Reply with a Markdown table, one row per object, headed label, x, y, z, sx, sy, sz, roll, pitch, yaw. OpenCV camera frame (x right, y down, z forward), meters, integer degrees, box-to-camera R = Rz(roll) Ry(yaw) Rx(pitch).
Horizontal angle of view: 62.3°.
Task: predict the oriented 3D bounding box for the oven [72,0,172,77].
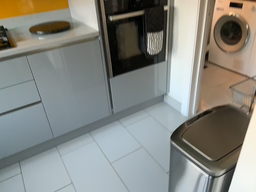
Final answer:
| label | x | y | z | sx | sy | sz | roll | pitch | yaw |
| --- | --- | --- | --- | --- | --- | --- | --- | --- | --- |
| oven | -0.060 | -0.590 | 1.930 | 0.630 | 0.480 | 0.630 | -21 | 36 | -24 |

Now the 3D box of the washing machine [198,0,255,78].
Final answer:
| label | x | y | z | sx | sy | sz | roll | pitch | yaw |
| --- | --- | --- | --- | --- | --- | --- | --- | --- | --- |
| washing machine | 1.490 | -0.870 | 2.760 | 0.720 | 0.900 | 0.720 | -20 | 35 | -22 |

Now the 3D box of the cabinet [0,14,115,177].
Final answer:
| label | x | y | z | sx | sy | sz | roll | pitch | yaw |
| --- | --- | --- | --- | --- | --- | --- | --- | --- | --- |
| cabinet | -1.200 | 0.100 | 1.540 | 2.070 | 0.910 | 0.640 | -21 | 36 | -24 |
